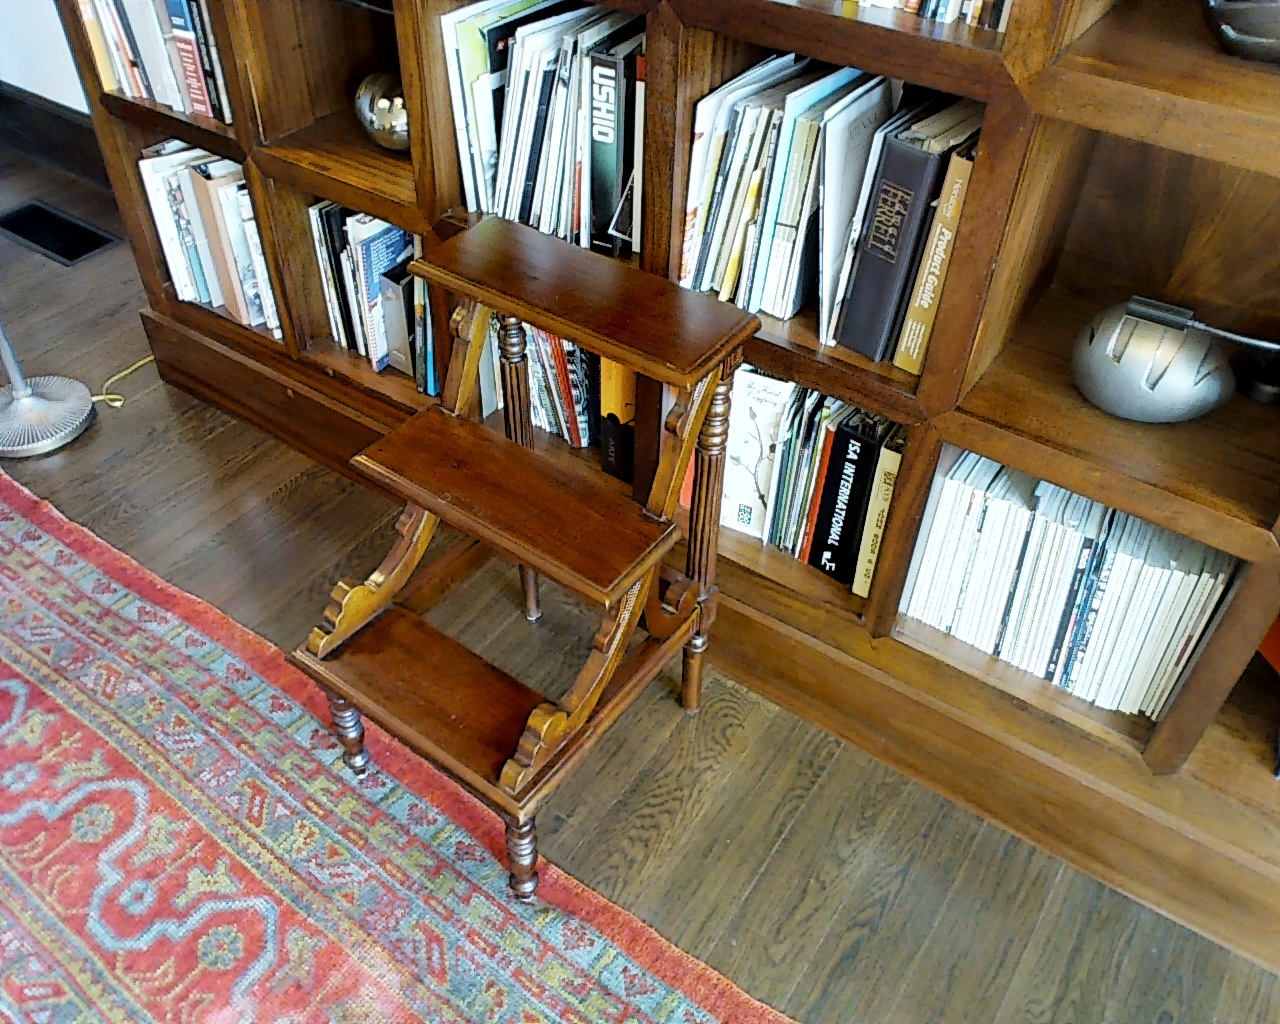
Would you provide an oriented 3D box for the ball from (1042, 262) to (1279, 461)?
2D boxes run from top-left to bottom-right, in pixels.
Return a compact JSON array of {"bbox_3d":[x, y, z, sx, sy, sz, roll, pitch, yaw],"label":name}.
[{"bbox_3d":[0.640,-0.190,1.330,0.200,0.130,0.150,27,48,25],"label":"ball"}]
